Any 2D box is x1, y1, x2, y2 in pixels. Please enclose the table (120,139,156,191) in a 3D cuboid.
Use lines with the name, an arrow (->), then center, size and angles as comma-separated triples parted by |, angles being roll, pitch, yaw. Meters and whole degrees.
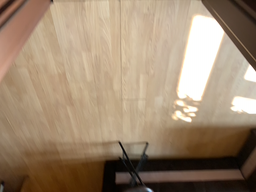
table -> 0.070, 0.690, 2.000 | 0.270, 0.480, 0.270 | 3, 133, -6
